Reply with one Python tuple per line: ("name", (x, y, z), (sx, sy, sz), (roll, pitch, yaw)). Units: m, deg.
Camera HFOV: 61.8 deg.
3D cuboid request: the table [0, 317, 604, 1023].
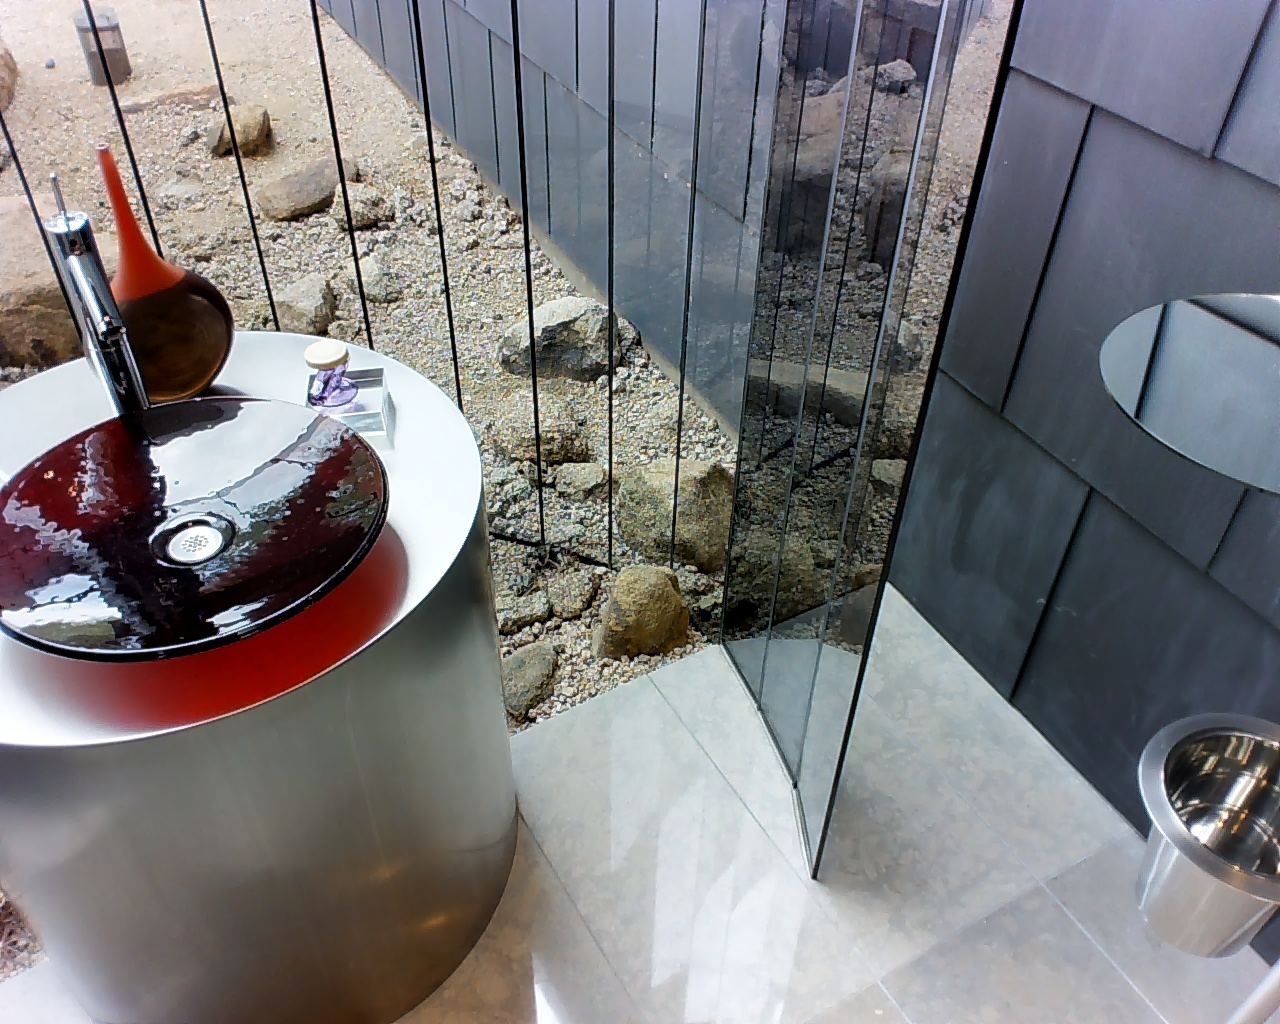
("table", (-0.570, 0.370, 1.430), (0.930, 0.920, 0.460), (-22, 47, -23))
